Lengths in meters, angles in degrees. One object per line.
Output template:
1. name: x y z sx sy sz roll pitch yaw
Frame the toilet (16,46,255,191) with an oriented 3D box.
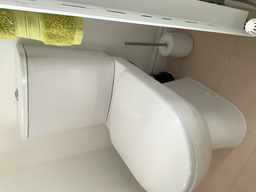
1. toilet: 0.030 0.100 0.840 0.650 0.760 0.400 42 130 48
